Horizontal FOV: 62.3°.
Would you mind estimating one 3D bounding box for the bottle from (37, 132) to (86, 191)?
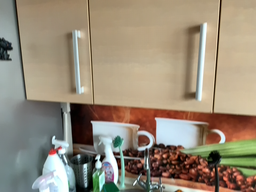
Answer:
[{"bbox_3d":[-0.300,0.340,0.980,0.130,0.290,0.150,5,13,25],"label":"bottle"}]
